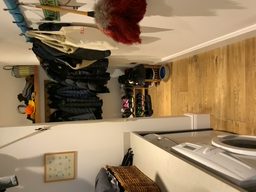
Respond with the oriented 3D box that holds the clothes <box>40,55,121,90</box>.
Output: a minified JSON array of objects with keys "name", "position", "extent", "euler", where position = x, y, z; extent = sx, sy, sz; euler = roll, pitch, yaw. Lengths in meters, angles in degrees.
[{"name":"clothes","position":[-0.720,-0.290,3.070],"extent":[1.170,0.930,0.380],"euler":[-178,86,-72]}]

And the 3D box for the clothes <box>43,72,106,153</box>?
[{"name":"clothes","position":[-0.890,0.240,3.580],"extent":[0.300,0.970,1.270],"euler":[-174,83,-72]}]
